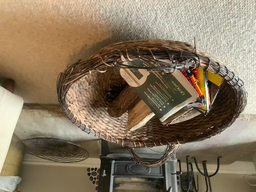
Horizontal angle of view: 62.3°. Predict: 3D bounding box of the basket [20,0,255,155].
[{"bbox_3d":[0.110,0.000,0.860,0.620,0.190,0.740,-17,142,28],"label":"basket"}]
